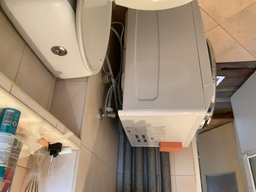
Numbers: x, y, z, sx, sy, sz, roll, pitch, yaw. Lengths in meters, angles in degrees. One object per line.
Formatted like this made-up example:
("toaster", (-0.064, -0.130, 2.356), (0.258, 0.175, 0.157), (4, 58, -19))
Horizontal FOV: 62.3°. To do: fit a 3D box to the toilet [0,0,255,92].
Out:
("toilet", (0.010, -0.470, 0.810), (0.620, 0.800, 0.400), (-1, 154, 6))
